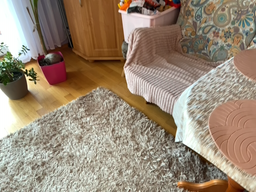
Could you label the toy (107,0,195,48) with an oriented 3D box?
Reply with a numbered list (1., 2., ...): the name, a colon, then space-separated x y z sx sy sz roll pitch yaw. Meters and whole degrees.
1. toy: 0.220 -0.820 1.920 0.660 0.430 0.470 -34 50 -31
